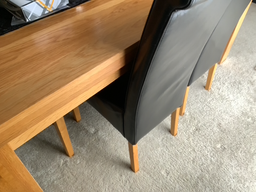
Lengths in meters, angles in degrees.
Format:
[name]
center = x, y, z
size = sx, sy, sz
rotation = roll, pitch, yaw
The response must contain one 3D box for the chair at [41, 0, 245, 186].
[chair]
center = 0.020, -0.110, 0.950
size = 0.540, 0.950, 0.420
rotation = 37, 57, 27
